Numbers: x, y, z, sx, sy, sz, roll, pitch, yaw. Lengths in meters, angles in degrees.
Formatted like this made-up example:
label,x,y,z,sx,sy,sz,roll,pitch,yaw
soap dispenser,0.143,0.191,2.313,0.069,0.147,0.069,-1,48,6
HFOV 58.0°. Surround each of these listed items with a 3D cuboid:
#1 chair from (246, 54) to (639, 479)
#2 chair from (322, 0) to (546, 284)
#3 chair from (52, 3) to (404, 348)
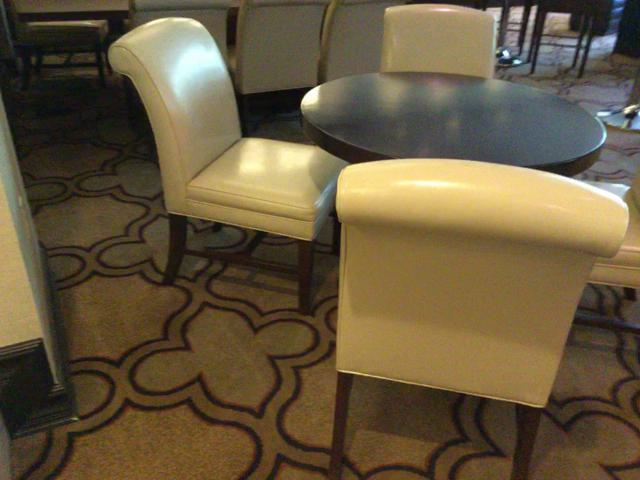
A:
label,x,y,z,sx,sy,sz,roll,pitch,yaw
chair,0.300,0.140,1.420,0.600,0.930,0.850,8,33,14
chair,0.450,-0.490,2.370,0.680,0.940,0.840,7,33,13
chair,-0.250,-0.280,2.110,0.920,0.950,0.660,10,34,17
